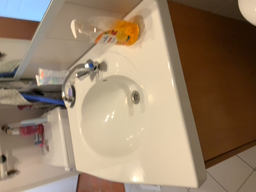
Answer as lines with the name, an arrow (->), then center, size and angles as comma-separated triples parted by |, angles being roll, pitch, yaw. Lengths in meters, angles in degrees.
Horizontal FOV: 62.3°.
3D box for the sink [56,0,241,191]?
sink -> -0.040, 0.050, 0.880 | 0.790, 0.200, 0.520 | -21, 78, 52
